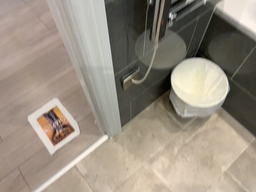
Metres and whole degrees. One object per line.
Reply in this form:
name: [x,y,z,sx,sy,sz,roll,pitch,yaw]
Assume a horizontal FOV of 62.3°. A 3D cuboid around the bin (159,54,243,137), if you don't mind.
bin: [0.380,0.000,1.170,0.290,0.250,0.260,-36,68,-17]
